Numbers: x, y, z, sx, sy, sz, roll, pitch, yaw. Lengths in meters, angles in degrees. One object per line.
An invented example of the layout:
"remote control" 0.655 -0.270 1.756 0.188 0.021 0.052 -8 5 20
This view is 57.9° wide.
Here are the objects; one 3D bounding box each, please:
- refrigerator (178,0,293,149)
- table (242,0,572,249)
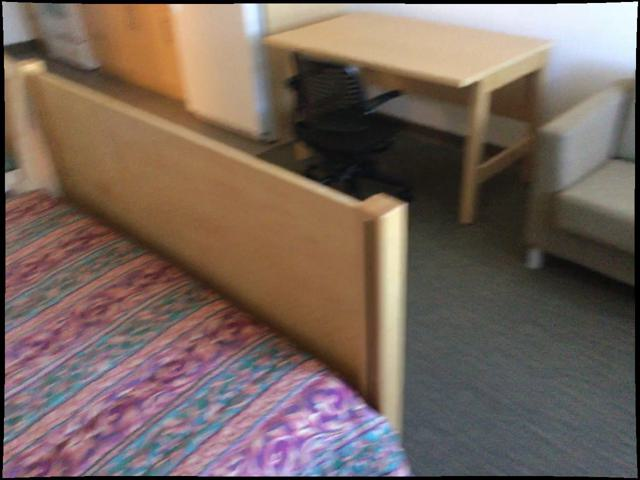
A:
"refrigerator" -0.549 -1.411 3.360 0.190 1.651 0.740 -31 42 -34
"table" 0.430 -0.711 3.060 1.060 0.741 1.220 -31 42 -34
